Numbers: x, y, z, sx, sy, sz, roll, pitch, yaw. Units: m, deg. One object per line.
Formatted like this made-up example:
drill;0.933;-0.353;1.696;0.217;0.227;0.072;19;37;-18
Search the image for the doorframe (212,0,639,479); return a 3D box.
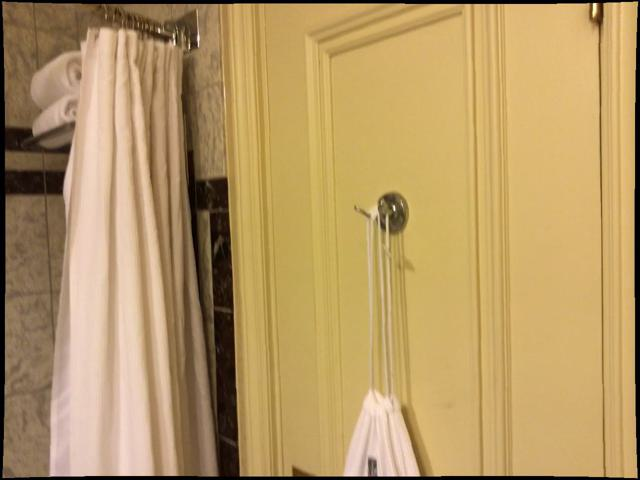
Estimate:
doorframe;0.140;0.380;0.940;0.070;2.062;1.030;-5;6;-40
